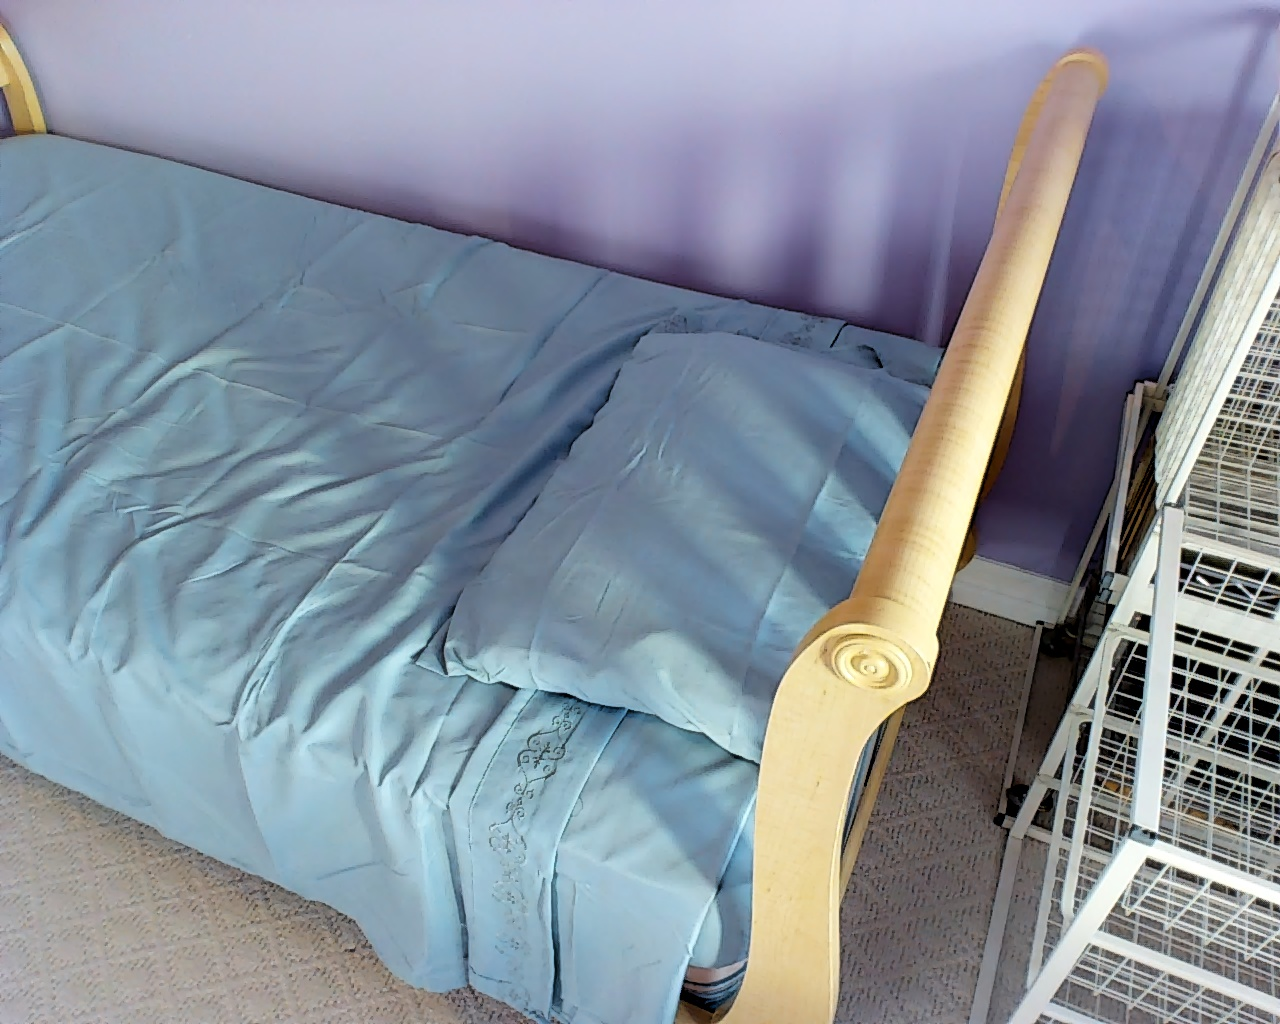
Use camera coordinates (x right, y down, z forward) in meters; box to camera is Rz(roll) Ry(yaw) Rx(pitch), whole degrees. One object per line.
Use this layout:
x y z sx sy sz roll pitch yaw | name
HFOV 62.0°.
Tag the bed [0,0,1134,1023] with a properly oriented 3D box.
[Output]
-0.570 -0.130 1.550 2.080 0.970 1.140 16 44 17 | bed
